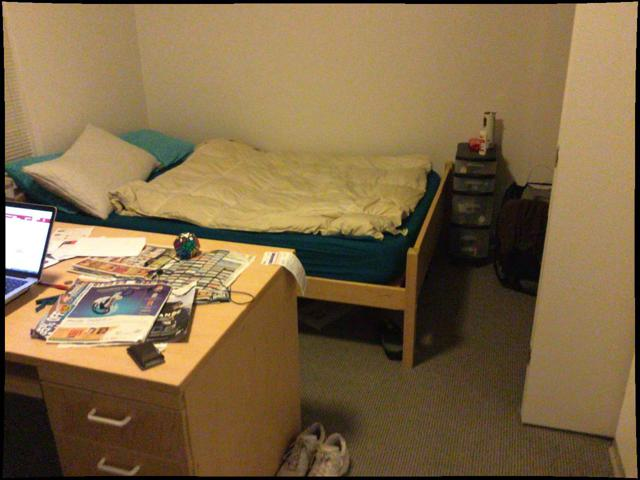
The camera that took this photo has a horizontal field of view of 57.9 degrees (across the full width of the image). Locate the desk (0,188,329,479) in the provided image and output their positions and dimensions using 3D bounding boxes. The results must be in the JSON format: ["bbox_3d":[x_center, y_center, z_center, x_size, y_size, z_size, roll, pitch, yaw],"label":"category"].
[{"bbox_3d":[-0.969,0.380,1.930,1.818,0.811,0.880,6,25,15],"label":"desk"}]

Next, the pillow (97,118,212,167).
[{"bbox_3d":[-1.049,-0.641,3.730,0.480,0.160,0.560,6,25,15],"label":"pillow"}]

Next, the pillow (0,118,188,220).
[{"bbox_3d":[-1.189,-0.420,3.140,0.540,0.270,0.900,6,25,15],"label":"pillow"}]

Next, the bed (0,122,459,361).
[{"bbox_3d":[-0.360,-0.150,3.270,2.108,0.631,1.440,6,25,15],"label":"bed"}]
